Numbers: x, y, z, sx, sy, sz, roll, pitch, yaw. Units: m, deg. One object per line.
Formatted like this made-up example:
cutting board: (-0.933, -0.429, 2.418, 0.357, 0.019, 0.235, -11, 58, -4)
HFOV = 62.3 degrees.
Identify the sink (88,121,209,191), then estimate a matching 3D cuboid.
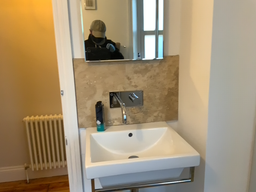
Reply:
sink: (0.060, 0.310, 1.110, 0.520, 0.180, 0.440, -4, 13, -10)
